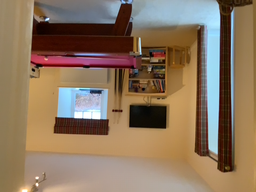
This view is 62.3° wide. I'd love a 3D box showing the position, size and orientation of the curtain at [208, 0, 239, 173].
[{"bbox_3d":[1.190,-0.200,2.660,0.180,2.180,0.400,2,178,-1],"label":"curtain"}]
